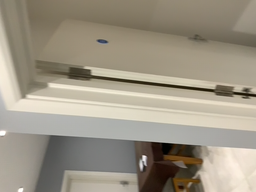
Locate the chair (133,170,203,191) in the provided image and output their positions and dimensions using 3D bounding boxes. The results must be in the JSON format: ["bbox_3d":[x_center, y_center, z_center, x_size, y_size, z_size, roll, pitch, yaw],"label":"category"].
[{"bbox_3d":[0.610,1.530,3.290,0.520,0.960,0.460,-96,16,-52],"label":"chair"}]
